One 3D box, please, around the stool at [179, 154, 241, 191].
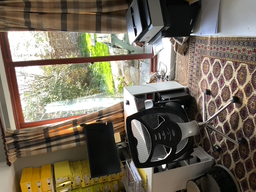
[{"bbox_3d":[0.800,0.910,2.140,0.400,0.360,0.410,-137,43,-63],"label":"stool"}]
